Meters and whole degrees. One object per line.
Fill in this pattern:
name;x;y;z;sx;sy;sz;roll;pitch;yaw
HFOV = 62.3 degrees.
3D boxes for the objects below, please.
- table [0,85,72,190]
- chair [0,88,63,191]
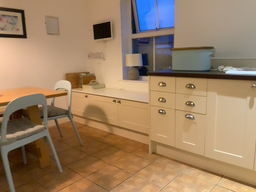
table;-1.440;0.390;1.900;0.800;0.740;1.600;8;14;39
chair;-0.950;0.370;1.820;0.530;0.790;0.470;7;13;33
